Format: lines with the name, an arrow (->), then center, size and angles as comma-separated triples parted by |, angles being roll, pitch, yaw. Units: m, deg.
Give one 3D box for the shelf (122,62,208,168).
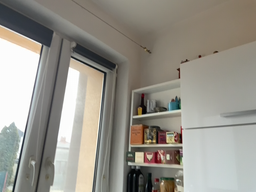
shelf -> 0.230, 0.150, 1.430 | 0.520, 0.600, 0.190 | -13, -24, 42
